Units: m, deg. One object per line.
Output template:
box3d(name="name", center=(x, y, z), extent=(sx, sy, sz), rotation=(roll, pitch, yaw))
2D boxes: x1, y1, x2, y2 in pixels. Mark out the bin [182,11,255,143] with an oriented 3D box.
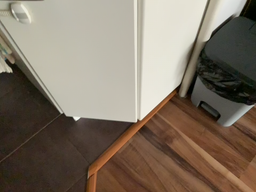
box3d(name="bin", center=(0.510, -0.070, 0.960), extent=(0.350, 0.420, 0.400), rotation=(-8, 60, -3))
